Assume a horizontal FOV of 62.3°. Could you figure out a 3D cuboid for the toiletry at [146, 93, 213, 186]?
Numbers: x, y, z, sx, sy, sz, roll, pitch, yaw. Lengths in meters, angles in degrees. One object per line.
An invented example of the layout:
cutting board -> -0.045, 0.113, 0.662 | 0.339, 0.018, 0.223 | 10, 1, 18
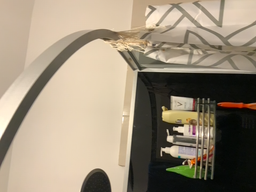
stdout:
toiletry -> 0.230, 0.180, 0.950 | 0.110, 0.250, 0.360 | 26, -112, -73
